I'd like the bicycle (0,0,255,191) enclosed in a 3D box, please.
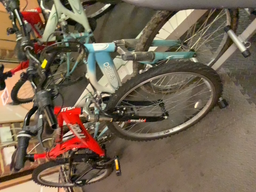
[{"bbox_3d":[-0.190,0.260,1.380,1.750,0.740,0.420,-42,64,35],"label":"bicycle"}]
